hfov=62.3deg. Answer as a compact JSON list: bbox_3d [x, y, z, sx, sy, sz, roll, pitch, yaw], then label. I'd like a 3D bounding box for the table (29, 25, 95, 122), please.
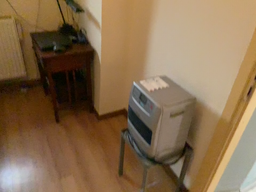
[{"bbox_3d":[-0.690,-0.280,2.200,0.430,0.660,0.790,-13,37,-25],"label":"table"}]

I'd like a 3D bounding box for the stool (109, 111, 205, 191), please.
[{"bbox_3d":[0.160,0.440,1.500,0.400,0.330,0.540,-13,37,-25],"label":"stool"}]
